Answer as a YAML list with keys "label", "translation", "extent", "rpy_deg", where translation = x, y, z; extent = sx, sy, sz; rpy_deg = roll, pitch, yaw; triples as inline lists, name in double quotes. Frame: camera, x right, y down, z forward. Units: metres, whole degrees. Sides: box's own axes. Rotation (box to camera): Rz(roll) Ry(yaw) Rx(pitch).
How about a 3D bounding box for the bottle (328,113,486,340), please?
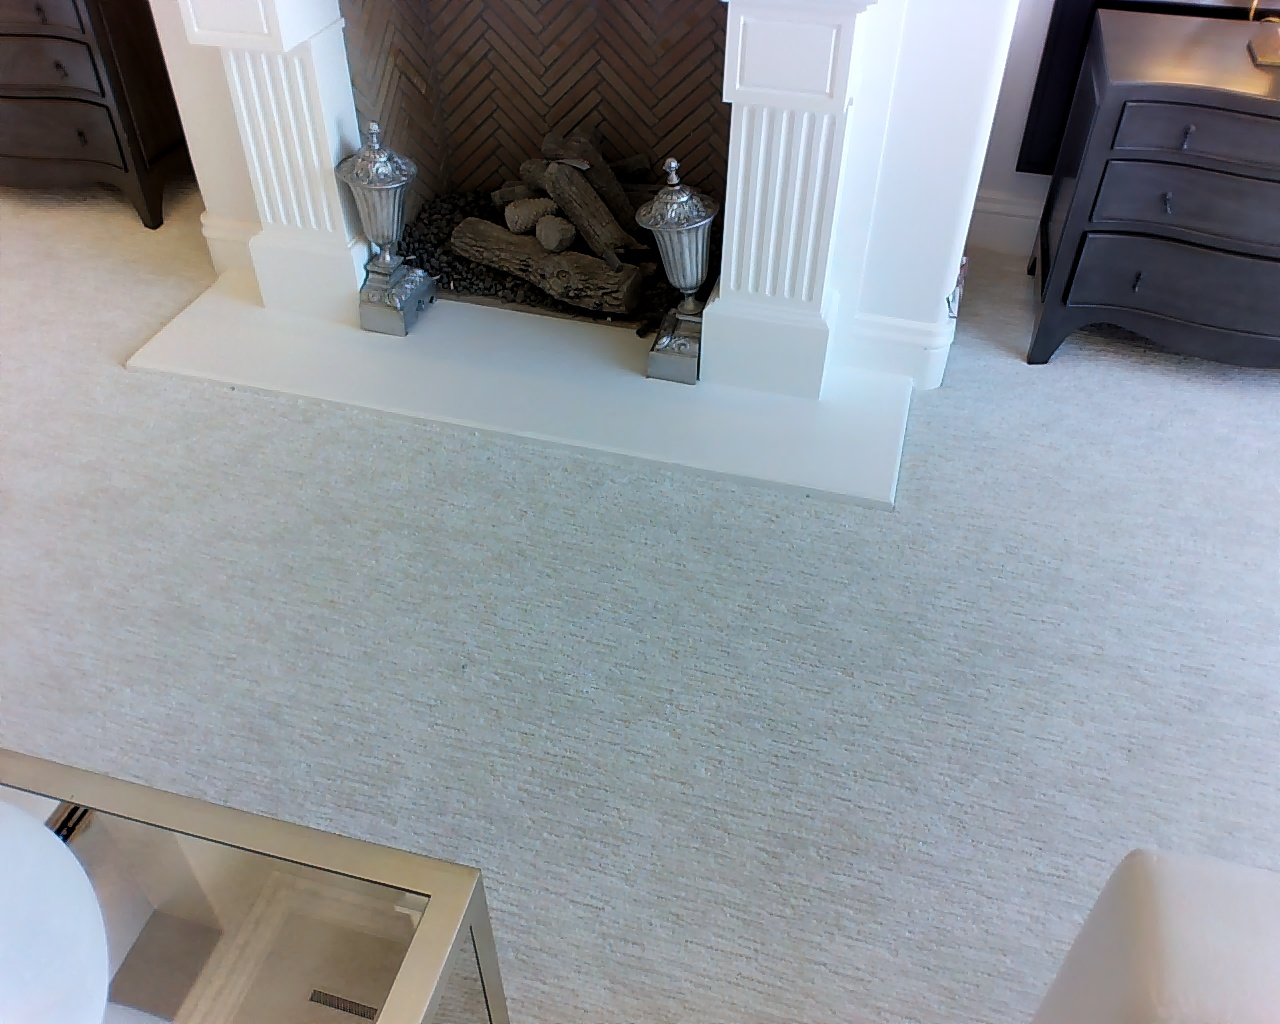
- label: "bottle"
  translation: [-0.620, -0.780, 2.950]
  extent: [0.240, 0.480, 0.330]
  rpy_deg: [11, 43, 12]

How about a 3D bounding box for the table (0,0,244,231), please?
- label: "table"
  translation: [-1.970, -1.440, 3.490]
  extent: [1.090, 0.800, 0.390]
  rpy_deg: [11, 43, 12]

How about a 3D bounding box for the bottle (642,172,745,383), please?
- label: "bottle"
  translation: [0.130, -0.590, 2.740]
  extent: [0.210, 0.470, 0.180]
  rpy_deg: [11, 43, 12]

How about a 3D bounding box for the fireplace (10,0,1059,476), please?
- label: "fireplace"
  translation: [-0.210, -1.230, 2.530]
  extent: [2.190, 1.690, 0.980]
  rpy_deg: [11, 43, 12]

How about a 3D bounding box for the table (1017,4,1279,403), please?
- label: "table"
  translation: [1.690, -0.730, 2.710]
  extent: [1.240, 0.810, 0.420]
  rpy_deg: [11, 43, 12]
